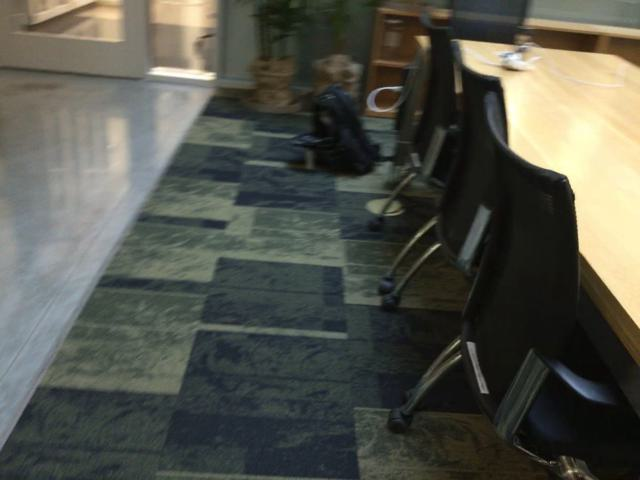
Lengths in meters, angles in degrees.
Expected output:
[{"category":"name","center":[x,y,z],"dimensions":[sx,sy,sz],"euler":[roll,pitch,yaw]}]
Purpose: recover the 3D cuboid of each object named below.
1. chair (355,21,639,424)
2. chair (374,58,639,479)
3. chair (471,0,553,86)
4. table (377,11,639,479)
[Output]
[{"category":"chair","center":[0.520,-0.060,1.640],"dimensions":[0.760,0.930,0.580],"euler":[4,30,1]},{"category":"chair","center":[0.490,0.210,1.180],"dimensions":[0.640,0.960,0.640],"euler":[4,30,1]},{"category":"chair","center":[1.070,-1.180,3.230],"dimensions":[0.300,0.550,0.250],"euler":[4,30,1]},{"category":"table","center":[0.880,-0.080,1.900],"dimensions":[1.190,0.840,2.500],"euler":[4,30,1]}]
